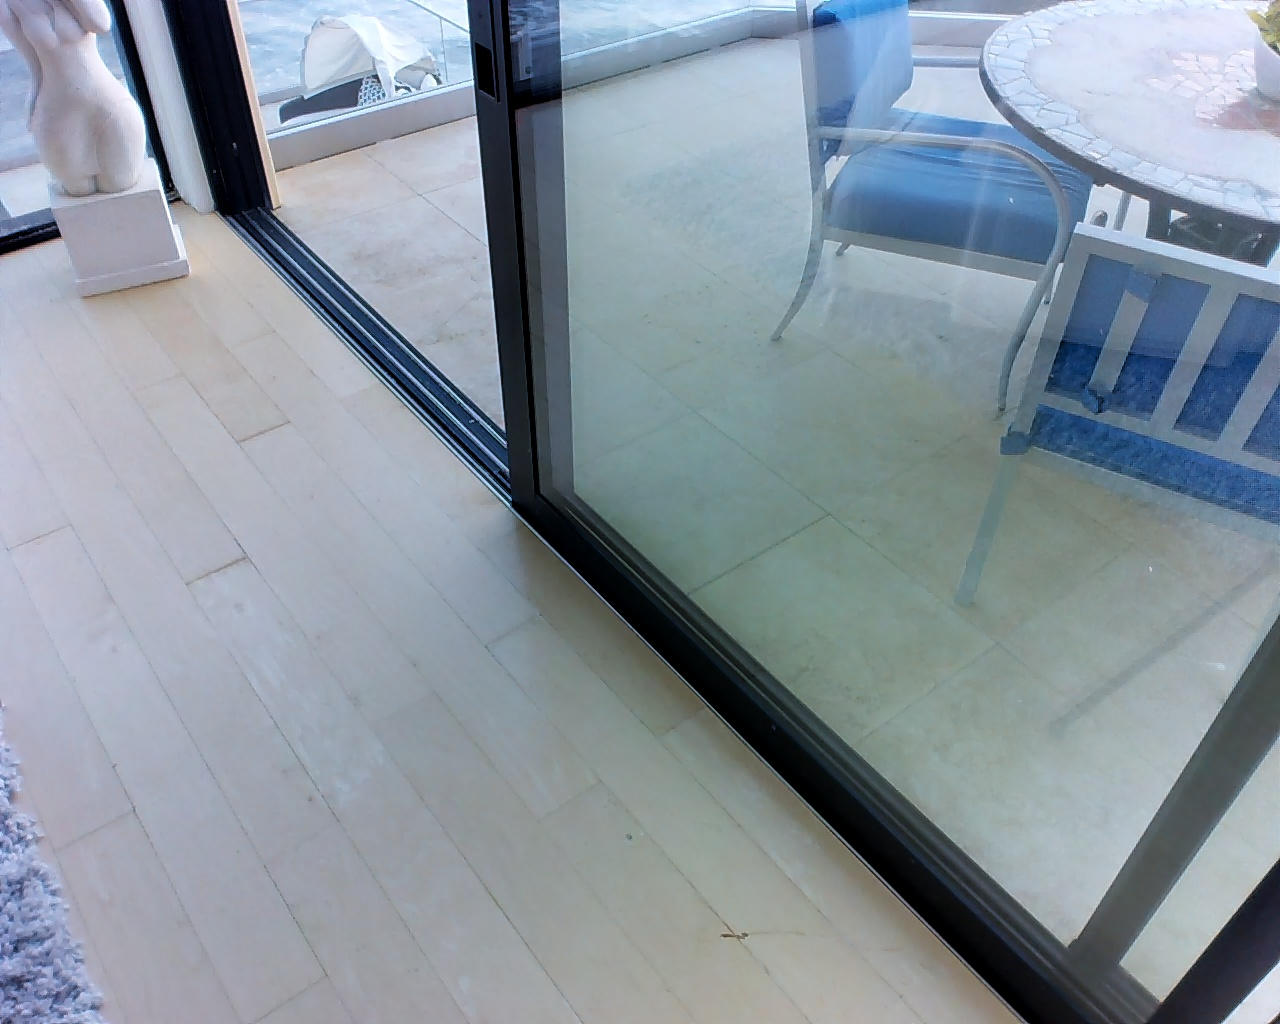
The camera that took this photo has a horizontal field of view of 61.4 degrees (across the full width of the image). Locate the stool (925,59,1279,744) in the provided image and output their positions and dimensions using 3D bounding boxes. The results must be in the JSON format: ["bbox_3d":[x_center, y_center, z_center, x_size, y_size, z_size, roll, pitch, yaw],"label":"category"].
[{"bbox_3d":[1.020,-0.230,1.950,0.600,0.800,0.790,23,47,22],"label":"stool"}]
